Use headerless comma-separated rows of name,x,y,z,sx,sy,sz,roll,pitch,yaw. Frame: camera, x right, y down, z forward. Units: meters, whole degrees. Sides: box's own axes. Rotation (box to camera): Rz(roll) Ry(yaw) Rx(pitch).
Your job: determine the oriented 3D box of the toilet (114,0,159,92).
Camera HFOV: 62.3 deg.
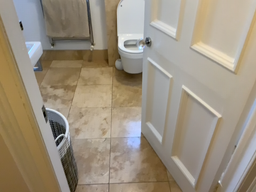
toilet,0.070,-0.540,2.260,0.380,0.830,0.560,0,37,0
